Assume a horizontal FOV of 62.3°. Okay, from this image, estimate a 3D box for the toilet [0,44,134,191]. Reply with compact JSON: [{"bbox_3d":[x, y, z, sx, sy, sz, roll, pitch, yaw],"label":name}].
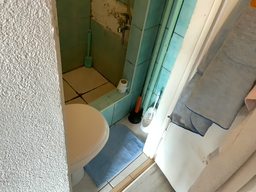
[{"bbox_3d":[-0.430,0.250,1.010,0.740,0.730,0.370,-27,56,-34],"label":"toilet"}]
